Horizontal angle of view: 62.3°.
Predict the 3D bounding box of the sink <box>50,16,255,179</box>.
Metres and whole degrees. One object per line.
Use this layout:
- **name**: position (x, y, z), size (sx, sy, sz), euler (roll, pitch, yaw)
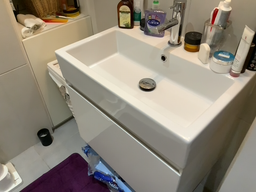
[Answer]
- **sink**: position (0.070, -0.080, 0.790), size (0.420, 0.160, 0.610), euler (-33, 50, -30)
